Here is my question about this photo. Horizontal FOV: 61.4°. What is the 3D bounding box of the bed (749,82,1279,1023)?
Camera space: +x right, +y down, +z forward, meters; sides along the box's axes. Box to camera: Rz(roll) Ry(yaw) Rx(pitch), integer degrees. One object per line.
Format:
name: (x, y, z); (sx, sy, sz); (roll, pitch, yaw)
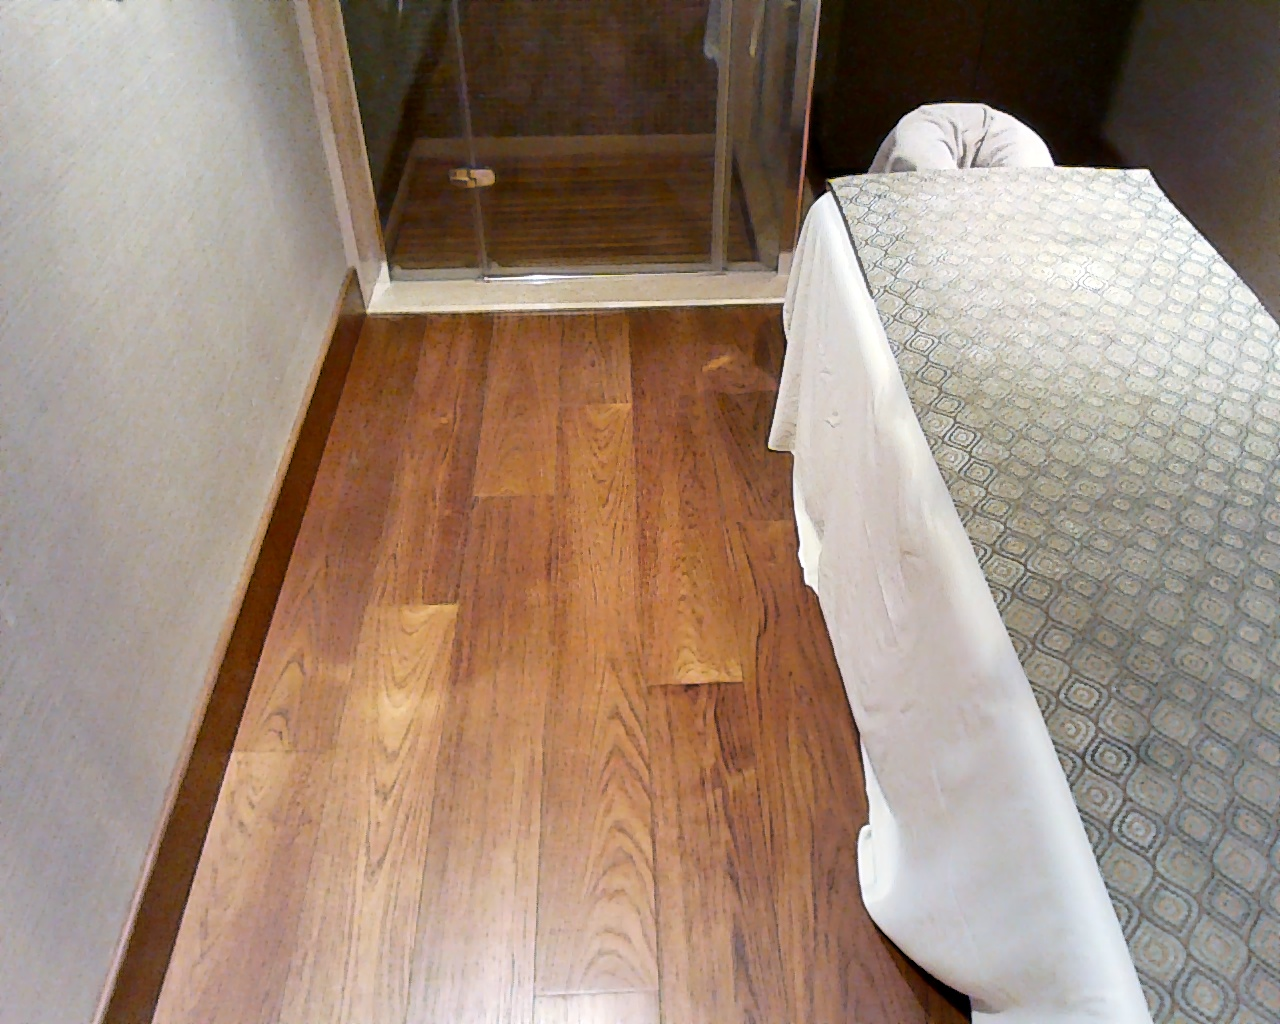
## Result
bed: (0.750, 0.020, 1.880); (0.830, 0.710, 2.160); (-2, 42, -1)
